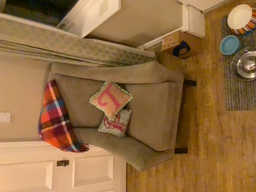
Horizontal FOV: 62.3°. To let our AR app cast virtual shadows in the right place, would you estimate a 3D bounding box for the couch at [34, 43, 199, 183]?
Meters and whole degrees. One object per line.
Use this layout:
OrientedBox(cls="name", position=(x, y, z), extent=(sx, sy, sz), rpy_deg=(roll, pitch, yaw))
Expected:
OrientedBox(cls="couch", position=(-0.130, 0.120, 1.970), extent=(0.980, 1.090, 0.830), rpy_deg=(6, 90, 53))
